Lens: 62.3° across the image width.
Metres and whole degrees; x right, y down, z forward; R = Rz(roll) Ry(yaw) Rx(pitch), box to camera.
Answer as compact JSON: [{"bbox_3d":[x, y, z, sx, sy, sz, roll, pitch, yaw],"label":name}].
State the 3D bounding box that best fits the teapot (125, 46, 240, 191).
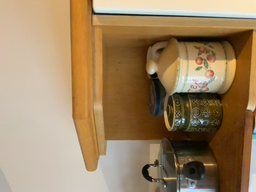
[{"bbox_3d":[0.090,0.340,0.530,0.240,0.180,0.880,-123,33,-82],"label":"teapot"}]
